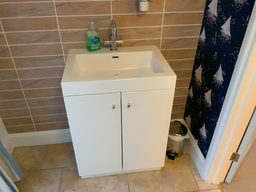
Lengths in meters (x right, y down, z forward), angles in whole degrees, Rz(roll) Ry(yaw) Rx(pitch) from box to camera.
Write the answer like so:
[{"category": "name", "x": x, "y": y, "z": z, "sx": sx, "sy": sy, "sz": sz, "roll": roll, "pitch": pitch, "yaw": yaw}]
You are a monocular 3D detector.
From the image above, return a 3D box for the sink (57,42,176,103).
[{"category": "sink", "x": -0.080, "y": -0.170, "z": 1.290, "sx": 0.600, "sy": 0.140, "sz": 0.450, "roll": -5, "pitch": 35, "yaw": -7}]
